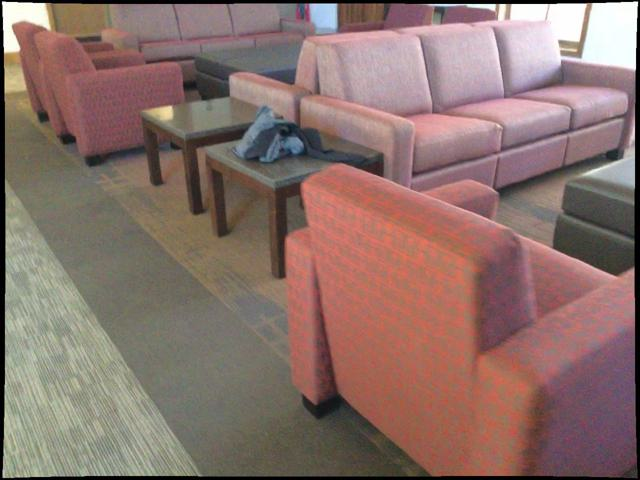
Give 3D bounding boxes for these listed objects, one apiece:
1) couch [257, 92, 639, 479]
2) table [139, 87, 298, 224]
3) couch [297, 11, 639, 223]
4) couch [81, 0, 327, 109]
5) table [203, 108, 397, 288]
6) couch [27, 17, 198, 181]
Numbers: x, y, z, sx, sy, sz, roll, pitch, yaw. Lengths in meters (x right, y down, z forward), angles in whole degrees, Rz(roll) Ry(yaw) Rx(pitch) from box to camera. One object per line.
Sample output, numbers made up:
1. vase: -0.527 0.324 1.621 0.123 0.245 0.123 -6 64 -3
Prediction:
1. couch: 0.430 0.180 1.560 0.830 0.831 0.890 -18 35 -30
2. table: -0.589 -0.531 3.400 0.670 0.490 0.660 -18 35 -30
3. couch: 0.999 -0.831 3.340 2.159 0.781 0.770 -16 34 -32
4. couch: -1.179 -2.162 6.360 2.419 0.851 0.890 -18 35 -30
5. table: -0.110 -0.240 2.750 0.620 0.520 0.660 -18 35 -30
6. couch: -1.469 -1.051 4.130 0.810 0.851 0.870 -18 35 -30
